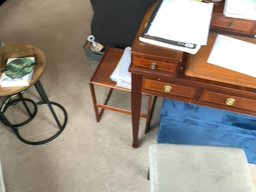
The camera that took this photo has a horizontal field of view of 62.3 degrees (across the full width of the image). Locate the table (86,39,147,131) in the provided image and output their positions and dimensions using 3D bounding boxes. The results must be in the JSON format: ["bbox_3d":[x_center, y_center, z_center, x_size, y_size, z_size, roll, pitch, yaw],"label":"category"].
[{"bbox_3d":[-0.060,-0.070,1.520,0.280,0.470,0.400,12,53,8],"label":"table"}]

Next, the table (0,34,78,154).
[{"bbox_3d":[-0.720,-0.010,1.390,0.540,0.590,0.390,19,54,14],"label":"table"}]

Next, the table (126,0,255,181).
[{"bbox_3d":[0.620,0.010,1.210,1.160,0.870,0.550,12,53,8],"label":"table"}]
